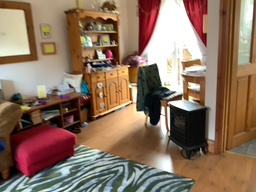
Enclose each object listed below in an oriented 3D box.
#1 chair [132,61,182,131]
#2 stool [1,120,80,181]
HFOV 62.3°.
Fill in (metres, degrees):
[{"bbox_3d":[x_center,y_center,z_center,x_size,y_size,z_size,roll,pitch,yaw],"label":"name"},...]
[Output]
[{"bbox_3d":[0.450,-0.040,3.210,0.560,0.910,0.470,10,19,39],"label":"chair"},{"bbox_3d":[-0.930,0.550,2.320,0.480,0.320,0.600,8,18,35],"label":"stool"}]
